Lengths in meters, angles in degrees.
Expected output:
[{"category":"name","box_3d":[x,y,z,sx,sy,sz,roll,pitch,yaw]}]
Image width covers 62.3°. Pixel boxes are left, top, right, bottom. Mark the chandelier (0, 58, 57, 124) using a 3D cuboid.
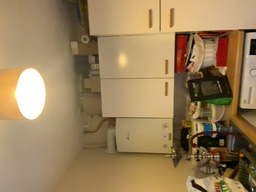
[{"category":"chandelier","box_3d":[-0.540,-0.040,0.890,0.310,0.340,0.210,-65,154,-74]}]
